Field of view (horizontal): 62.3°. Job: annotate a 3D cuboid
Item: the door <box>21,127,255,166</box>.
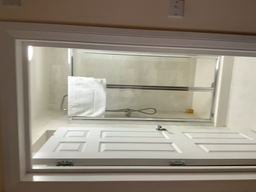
[{"bbox_3d":[0.300,0.390,1.810,0.790,2.020,0.060,-137,49,-82],"label":"door"}]
